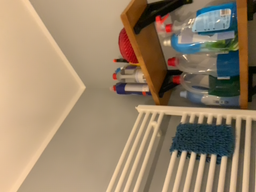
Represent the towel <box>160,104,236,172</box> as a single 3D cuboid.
[{"bbox_3d":[0.320,0.170,0.950,0.100,0.280,0.250,60,-138,-43],"label":"towel"}]
